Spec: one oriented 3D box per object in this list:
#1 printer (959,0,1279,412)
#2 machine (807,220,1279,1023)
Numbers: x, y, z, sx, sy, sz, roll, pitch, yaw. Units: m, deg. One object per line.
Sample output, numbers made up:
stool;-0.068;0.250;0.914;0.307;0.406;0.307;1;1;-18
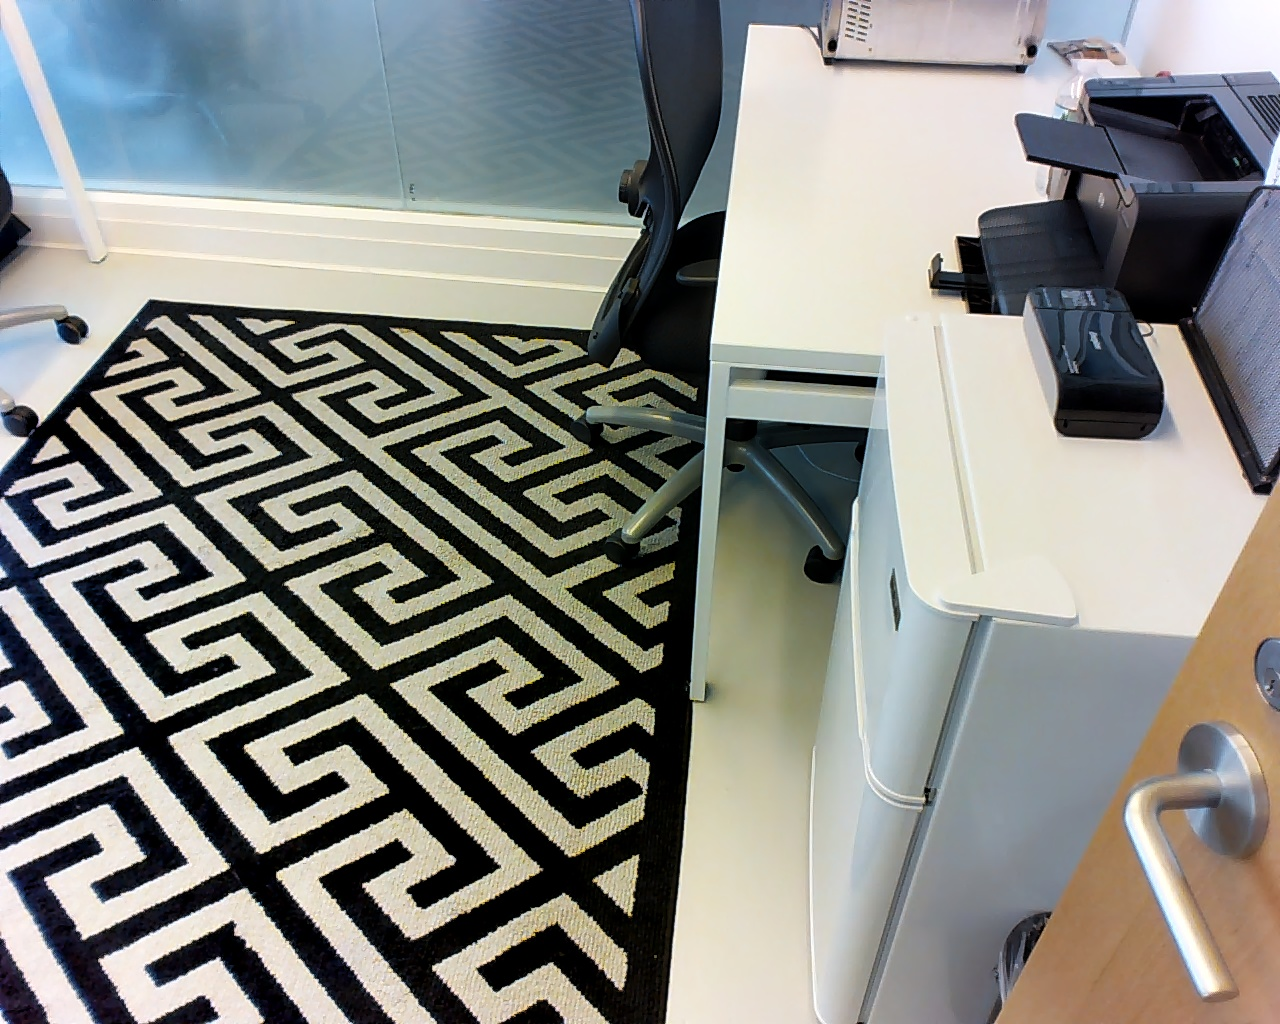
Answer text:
printer;0.620;-0.410;1.310;0.350;0.370;0.420;5;43;7
machine;0.490;0.190;1.370;0.440;0.850;0.670;6;43;7
